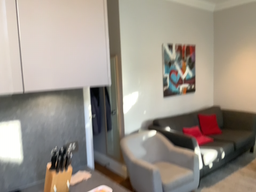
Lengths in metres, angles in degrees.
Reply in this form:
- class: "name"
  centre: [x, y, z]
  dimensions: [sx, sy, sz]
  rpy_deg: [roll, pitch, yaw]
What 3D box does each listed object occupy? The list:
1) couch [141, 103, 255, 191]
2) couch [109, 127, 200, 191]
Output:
- class: "couch"
  centre: [1.370, 0.690, 3.670]
  dimensions: [2.150, 0.790, 1.000]
  rpy_deg: [-8, 8, -39]
- class: "couch"
  centre: [0.320, 0.890, 2.670]
  dimensions: [0.750, 0.720, 0.830]
  rpy_deg: [-8, 8, -39]
